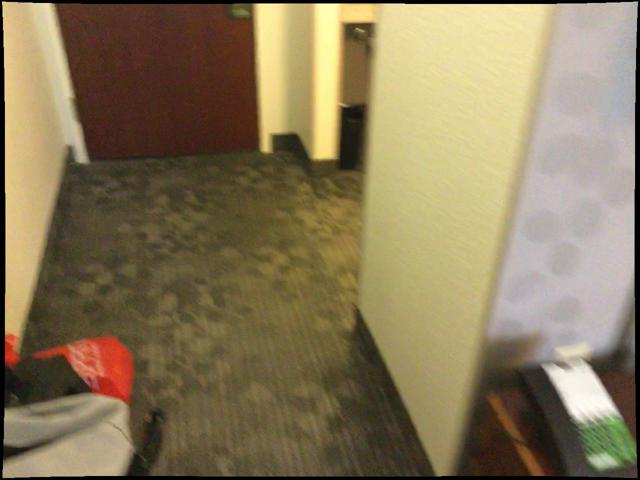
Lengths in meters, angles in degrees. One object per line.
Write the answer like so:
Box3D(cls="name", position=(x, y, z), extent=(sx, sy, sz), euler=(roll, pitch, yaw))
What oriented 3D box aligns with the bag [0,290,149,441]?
Box3D(cls="bag", position=(-0.699, 0.350, 1.660), extent=(0.360, 0.240, 0.280), euler=(-7, 39, -14))
